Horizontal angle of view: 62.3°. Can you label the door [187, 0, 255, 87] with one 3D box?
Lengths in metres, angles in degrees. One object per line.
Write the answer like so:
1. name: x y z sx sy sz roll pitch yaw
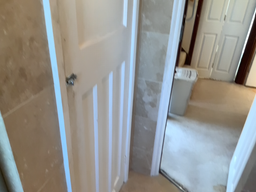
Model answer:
1. door: 1.490 -1.150 3.180 0.810 2.060 0.060 12 30 15
